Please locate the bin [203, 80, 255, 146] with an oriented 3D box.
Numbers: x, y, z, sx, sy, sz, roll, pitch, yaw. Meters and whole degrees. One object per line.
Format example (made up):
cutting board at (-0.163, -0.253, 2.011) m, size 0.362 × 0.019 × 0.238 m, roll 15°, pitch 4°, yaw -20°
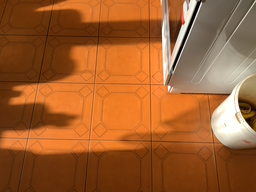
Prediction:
bin at (0.580, 0.100, 1.060) m, size 0.290 × 0.290 × 0.250 m, roll 2°, pitch 69°, yaw 0°
